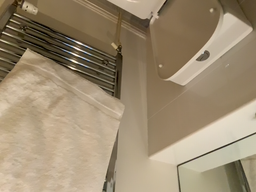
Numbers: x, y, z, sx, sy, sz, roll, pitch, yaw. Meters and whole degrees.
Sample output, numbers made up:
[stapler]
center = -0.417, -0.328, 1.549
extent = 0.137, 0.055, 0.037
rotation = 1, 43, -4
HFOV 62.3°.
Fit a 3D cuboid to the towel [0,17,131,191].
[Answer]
[towel]
center = -0.280, 0.070, 0.800
extent = 0.610, 0.620, 0.120
rotation = 21, 139, -24
